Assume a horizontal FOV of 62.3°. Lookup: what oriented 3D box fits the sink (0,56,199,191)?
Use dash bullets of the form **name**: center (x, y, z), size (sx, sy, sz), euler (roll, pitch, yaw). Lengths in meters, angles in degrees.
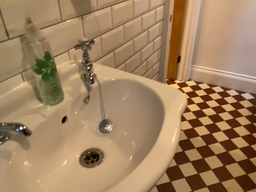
- **sink**: center (-0.080, 0.100, 0.490), size (0.350, 0.170, 0.450), euler (16, 37, 23)
